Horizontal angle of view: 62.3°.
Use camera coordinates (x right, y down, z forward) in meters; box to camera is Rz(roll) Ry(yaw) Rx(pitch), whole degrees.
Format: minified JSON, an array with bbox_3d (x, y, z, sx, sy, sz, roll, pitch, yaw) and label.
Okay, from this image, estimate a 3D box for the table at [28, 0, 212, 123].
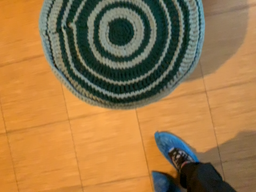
[{"bbox_3d":[-0.020,-0.220,0.950,0.560,0.520,0.550,-7,91,5],"label":"table"}]
